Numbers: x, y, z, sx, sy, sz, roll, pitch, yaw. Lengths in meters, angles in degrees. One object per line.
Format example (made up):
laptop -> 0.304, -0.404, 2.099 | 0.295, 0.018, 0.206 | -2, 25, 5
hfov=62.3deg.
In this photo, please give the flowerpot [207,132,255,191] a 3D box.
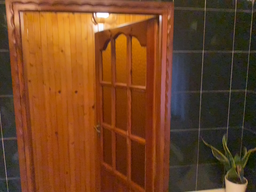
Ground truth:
flowerpot -> 0.680, 0.470, 1.380 | 0.250, 0.390, 0.180 | 7, 11, 34
